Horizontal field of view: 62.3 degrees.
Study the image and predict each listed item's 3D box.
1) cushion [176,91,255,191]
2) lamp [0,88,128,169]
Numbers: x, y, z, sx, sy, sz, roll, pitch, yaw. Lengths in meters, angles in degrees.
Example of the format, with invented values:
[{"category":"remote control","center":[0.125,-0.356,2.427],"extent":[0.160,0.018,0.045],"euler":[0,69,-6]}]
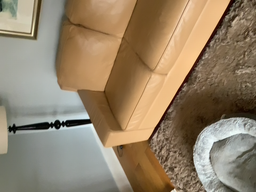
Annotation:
[{"category":"cushion","center":[0.680,0.410,1.330],"extent":[0.710,0.120,0.680],"euler":[33,118,50]},{"category":"lamp","center":[-0.820,0.290,2.280],"extent":[0.540,1.490,0.510],"euler":[54,133,39]}]
